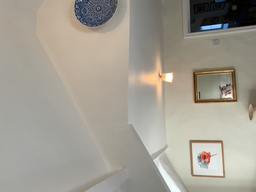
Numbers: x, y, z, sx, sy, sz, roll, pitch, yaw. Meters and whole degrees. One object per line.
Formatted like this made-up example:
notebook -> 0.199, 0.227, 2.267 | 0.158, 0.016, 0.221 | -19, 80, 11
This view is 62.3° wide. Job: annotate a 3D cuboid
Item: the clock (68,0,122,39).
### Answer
clock -> -0.230, -0.610, 1.480 | 0.070, 0.370, 0.370 | 21, -112, -72
